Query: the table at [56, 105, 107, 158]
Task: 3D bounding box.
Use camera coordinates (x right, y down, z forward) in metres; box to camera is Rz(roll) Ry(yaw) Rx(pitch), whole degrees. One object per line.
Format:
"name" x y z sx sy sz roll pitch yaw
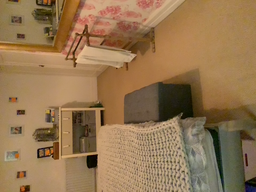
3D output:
"table" -0.960 0.690 4.310 0.490 0.910 0.940 160 109 -64

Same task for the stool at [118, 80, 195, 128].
"stool" 0.240 0.120 2.260 0.880 0.390 0.410 163 106 -65
